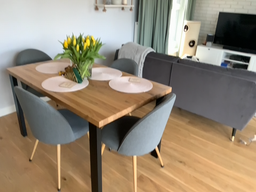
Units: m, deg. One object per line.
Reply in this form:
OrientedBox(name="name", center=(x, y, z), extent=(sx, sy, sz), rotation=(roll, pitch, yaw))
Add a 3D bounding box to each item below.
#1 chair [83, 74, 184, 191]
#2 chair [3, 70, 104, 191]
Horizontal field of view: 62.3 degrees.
OrientedBox(name="chair", center=(0.030, 0.330, 1.770), extent=(0.580, 0.820, 0.500), rotation=(20, 30, 33))
OrientedBox(name="chair", center=(-0.600, 0.270, 1.860), extent=(0.500, 0.800, 0.590), rotation=(21, 30, 35))
